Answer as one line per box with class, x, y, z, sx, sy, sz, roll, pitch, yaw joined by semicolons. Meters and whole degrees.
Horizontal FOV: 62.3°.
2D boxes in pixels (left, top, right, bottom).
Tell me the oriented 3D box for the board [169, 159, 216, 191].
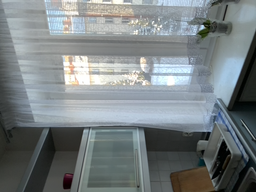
board;0.480;0.630;1.630;0.260;0.280;0.120;-90;2;-54
